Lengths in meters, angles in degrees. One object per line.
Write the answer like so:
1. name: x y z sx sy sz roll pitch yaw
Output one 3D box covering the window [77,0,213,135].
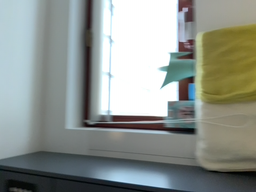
1. window: 0.100 -0.480 1.450 0.200 0.870 1.410 9 -99 -71
